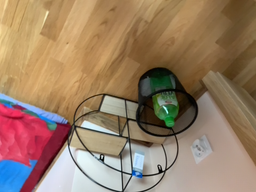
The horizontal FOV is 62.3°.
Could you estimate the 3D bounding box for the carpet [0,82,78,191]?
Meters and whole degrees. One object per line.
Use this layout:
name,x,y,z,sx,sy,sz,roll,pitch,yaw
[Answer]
carpet,-0.710,0.260,1.110,0.600,0.080,0.770,27,120,-20
